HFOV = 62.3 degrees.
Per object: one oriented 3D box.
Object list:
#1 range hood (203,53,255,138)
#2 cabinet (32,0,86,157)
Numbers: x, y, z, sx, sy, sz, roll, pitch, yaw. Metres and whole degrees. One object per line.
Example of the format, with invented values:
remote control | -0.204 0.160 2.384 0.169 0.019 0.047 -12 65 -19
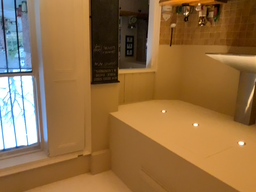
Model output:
range hood | 1.500 -0.060 2.710 0.450 0.910 0.830 -7 -163 -31
cabinet | -0.890 -0.320 2.840 0.560 2.240 0.250 -7 -163 -32
